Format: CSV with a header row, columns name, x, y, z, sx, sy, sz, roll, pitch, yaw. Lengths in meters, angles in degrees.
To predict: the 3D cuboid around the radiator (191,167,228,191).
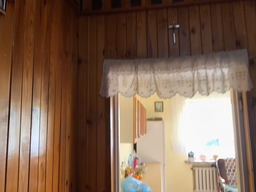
name,x,y,z,sx,sy,sz,roll,pitch,yaw
radiator,1.920,1.980,5.030,0.750,0.520,0.240,-1,-7,5
